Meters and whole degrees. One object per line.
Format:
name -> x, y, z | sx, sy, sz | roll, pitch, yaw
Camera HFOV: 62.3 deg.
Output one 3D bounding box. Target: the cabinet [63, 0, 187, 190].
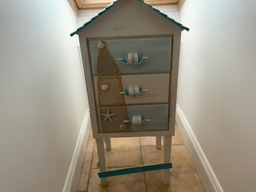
cabinet -> 0.010, -0.020, 1.090 | 0.430, 1.000, 0.350 | -3, 27, 1
